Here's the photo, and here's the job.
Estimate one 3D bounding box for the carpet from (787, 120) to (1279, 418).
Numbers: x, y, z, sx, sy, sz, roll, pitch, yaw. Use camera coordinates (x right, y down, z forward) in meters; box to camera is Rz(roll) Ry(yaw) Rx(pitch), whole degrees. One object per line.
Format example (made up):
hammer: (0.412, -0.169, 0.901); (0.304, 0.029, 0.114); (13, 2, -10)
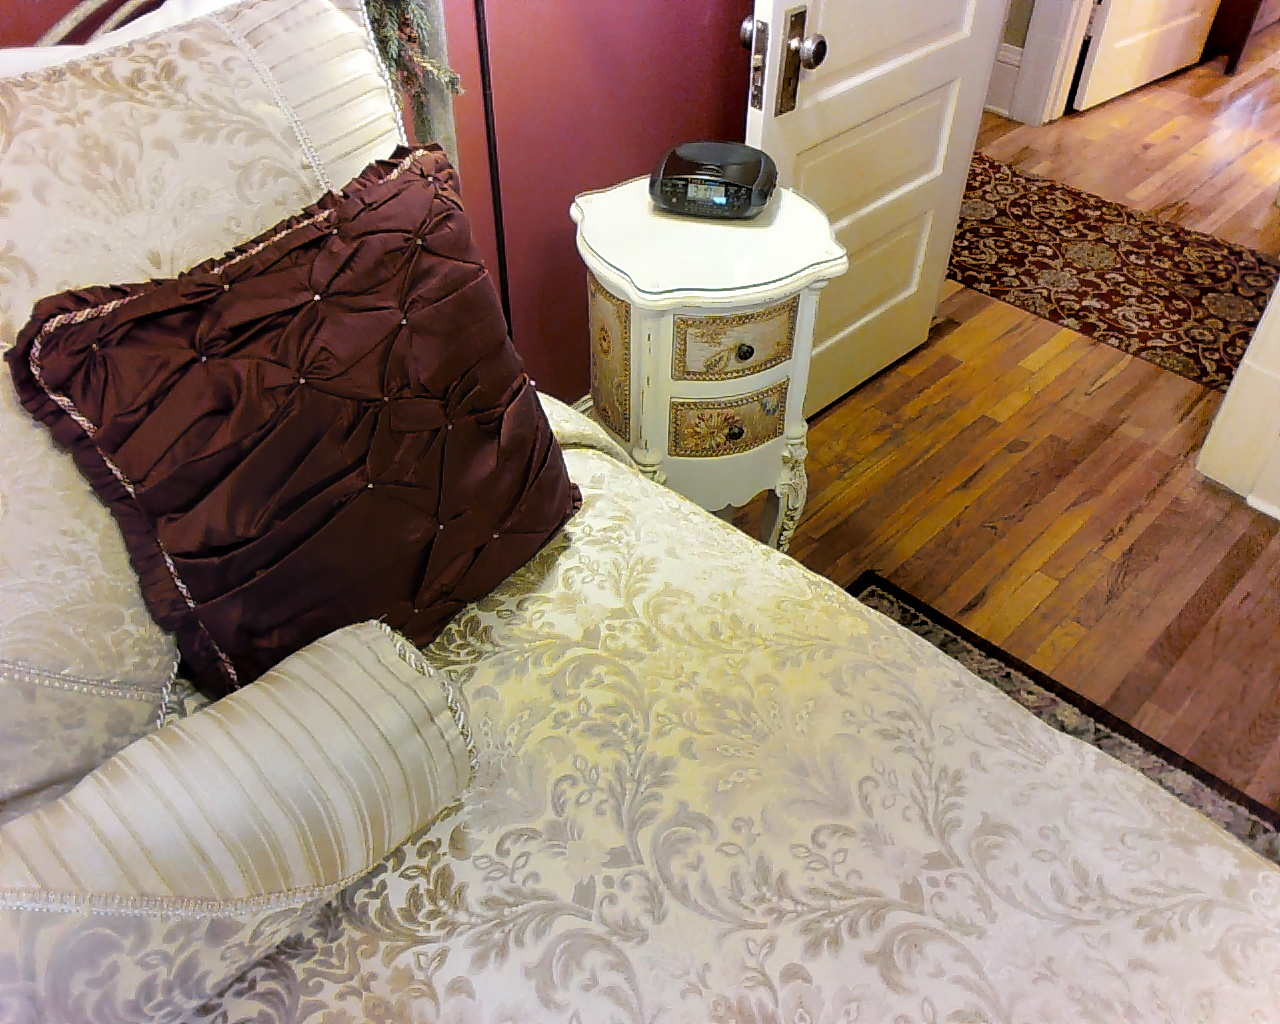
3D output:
carpet: (1.250, -0.790, 3.160); (0.810, 0.040, 1.450); (-33, 52, -30)
